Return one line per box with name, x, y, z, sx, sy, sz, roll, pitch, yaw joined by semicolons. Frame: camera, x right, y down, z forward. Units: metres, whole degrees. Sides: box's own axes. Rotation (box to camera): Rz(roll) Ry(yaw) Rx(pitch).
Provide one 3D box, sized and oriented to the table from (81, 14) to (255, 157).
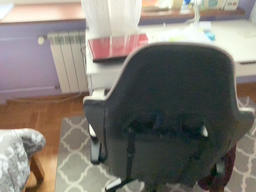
table;0.380;-0.140;1.770;1.410;0.760;0.770;-6;41;-9
